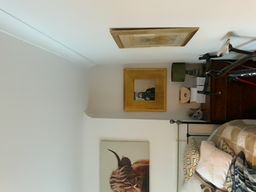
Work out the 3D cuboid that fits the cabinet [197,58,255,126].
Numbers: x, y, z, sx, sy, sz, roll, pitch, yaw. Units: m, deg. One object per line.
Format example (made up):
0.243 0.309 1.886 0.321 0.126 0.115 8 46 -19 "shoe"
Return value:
1.440 -0.060 2.940 0.600 0.780 0.840 -8 -81 -85 "cabinet"
